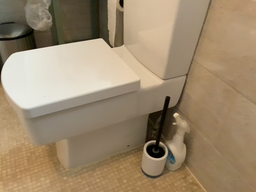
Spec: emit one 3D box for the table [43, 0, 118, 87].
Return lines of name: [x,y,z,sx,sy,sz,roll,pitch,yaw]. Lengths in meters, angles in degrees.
table: [-0.310,-0.500,1.350,0.370,0.760,0.360,-13,42,-22]

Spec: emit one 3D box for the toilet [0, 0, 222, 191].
toilet: [-0.110,-0.070,0.810,0.620,0.810,0.370,-15,42,-24]
